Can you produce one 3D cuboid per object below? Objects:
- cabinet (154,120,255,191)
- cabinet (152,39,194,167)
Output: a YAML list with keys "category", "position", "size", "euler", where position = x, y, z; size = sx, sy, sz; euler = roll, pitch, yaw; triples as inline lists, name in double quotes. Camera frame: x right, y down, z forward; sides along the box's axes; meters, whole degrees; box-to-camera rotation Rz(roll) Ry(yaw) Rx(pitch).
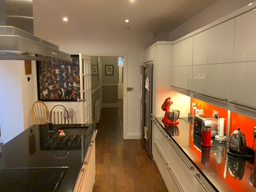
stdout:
- category: "cabinet"
  position: [0.830, 0.980, 2.250]
  size: [0.600, 0.820, 2.710]
  euler: [0, 8, -3]
- category: "cabinet"
  position: [0.750, 0.130, 3.650]
  size: [0.580, 2.130, 0.290]
  euler: [0, 8, -3]
